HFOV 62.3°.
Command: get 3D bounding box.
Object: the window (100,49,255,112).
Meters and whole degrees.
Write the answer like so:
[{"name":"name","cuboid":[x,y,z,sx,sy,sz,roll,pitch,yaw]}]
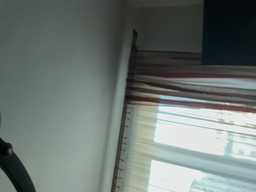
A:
[{"name":"window","cuboid":[1.100,-0.080,1.600,0.280,2.800,0.410,21,-103,-67]}]
